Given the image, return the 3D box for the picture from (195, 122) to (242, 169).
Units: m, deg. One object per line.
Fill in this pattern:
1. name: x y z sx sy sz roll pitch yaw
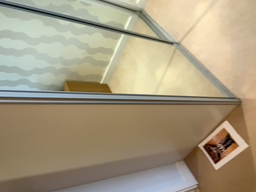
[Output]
1. picture: 0.610 0.340 1.460 0.280 0.020 0.190 -58 46 34
